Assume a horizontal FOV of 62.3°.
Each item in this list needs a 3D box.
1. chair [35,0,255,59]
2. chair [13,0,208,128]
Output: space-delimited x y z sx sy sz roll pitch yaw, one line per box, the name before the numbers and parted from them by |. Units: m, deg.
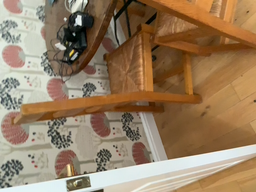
chair | 0.230 -0.450 0.860 0.470 1.020 0.450 24 108 54
chair | -0.090 -0.120 1.300 0.520 1.030 0.540 -18 74 54
